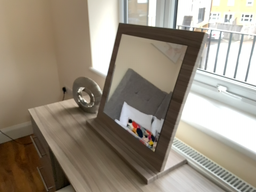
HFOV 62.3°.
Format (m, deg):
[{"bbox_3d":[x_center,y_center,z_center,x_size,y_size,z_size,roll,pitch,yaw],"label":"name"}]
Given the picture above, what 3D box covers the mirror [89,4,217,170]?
[{"bbox_3d":[0.040,-0.060,0.960,0.140,0.500,0.590,-22,47,-27],"label":"mirror"}]
